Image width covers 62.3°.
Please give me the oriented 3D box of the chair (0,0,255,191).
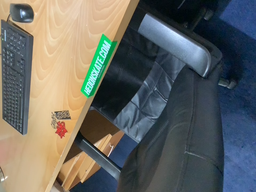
[{"bbox_3d":[0.000,-0.030,0.810,0.730,1.010,0.630,47,128,14],"label":"chair"}]
